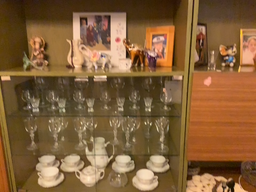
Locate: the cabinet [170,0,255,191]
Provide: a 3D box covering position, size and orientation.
[{"bbox_3d":[0.740,-0.270,1.070,0.910,1.560,0.370,1,14,1],"label":"cabinet"}]

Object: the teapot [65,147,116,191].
[{"bbox_3d":[-0.210,0.440,1.310,0.250,0.090,0.340,1,14,1],"label":"teapot"}]

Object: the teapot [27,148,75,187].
[{"bbox_3d":[-0.460,0.430,1.310,0.180,0.080,0.300,1,14,1],"label":"teapot"}]

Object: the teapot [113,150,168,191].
[{"bbox_3d":[0.070,0.450,1.290,0.290,0.100,0.300,1,14,2],"label":"teapot"}]
